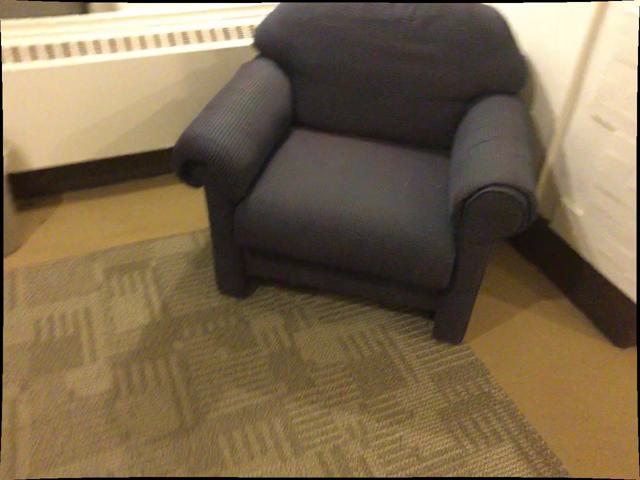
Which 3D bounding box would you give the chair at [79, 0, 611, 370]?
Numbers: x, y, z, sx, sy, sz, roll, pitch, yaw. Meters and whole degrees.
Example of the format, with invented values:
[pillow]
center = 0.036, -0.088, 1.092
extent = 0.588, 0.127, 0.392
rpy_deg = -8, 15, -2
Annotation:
[chair]
center = 0.120, -0.350, 1.900
extent = 1.169, 0.840, 1.040
rpy_deg = 8, 39, 10
